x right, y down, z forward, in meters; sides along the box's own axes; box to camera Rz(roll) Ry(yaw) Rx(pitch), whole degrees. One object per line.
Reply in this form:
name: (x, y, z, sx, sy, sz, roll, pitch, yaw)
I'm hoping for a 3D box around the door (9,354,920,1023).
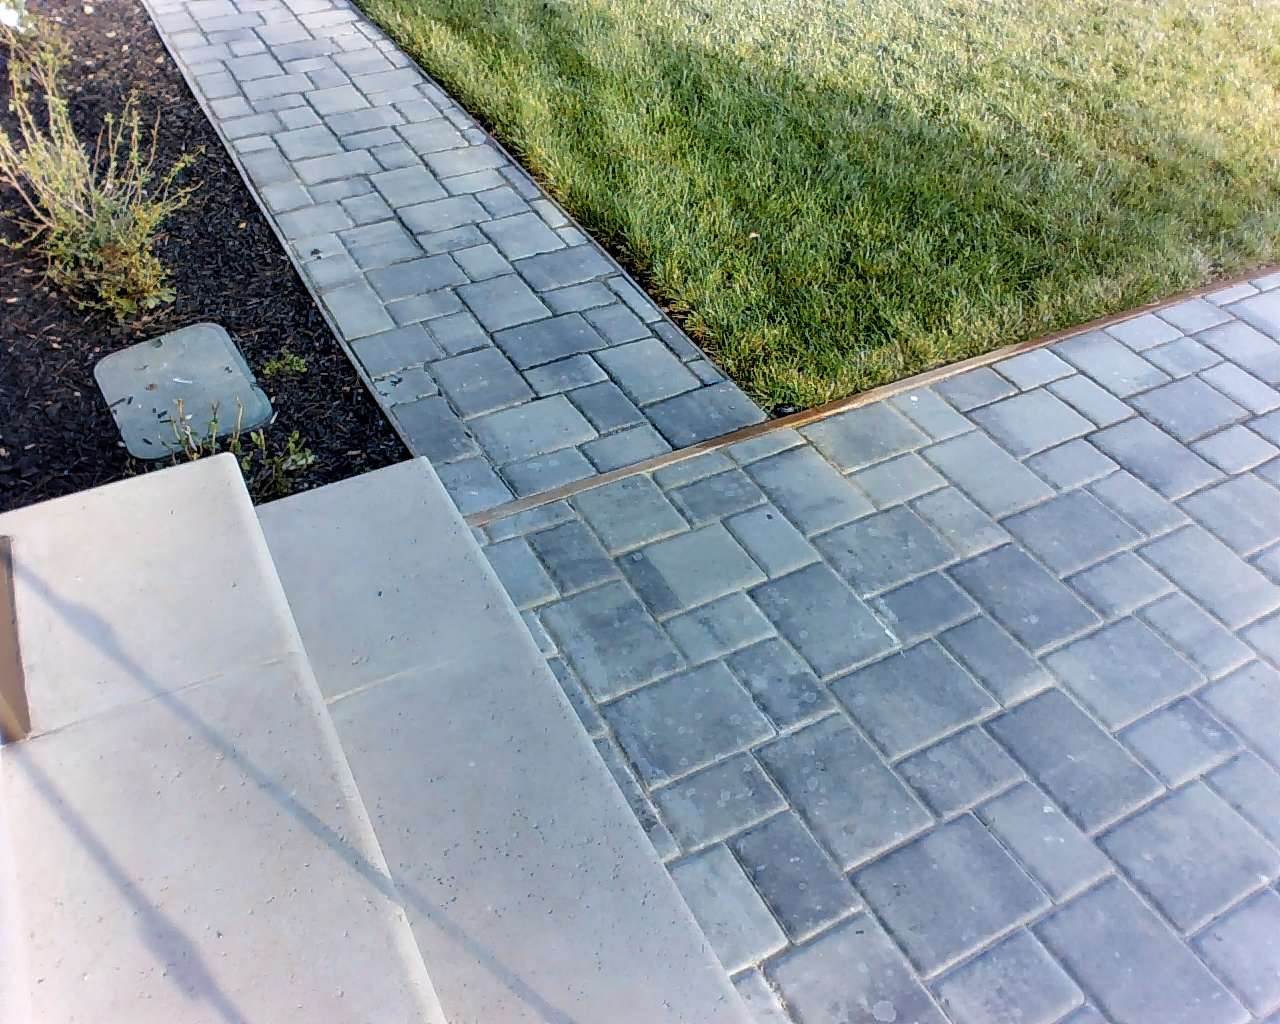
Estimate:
door: (0.100, 1.090, 1.100, 0.880, 0.380, 3.890, -20, 46, -21)
